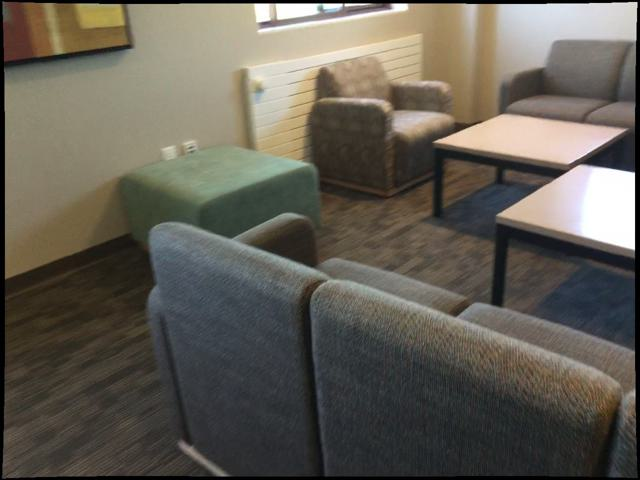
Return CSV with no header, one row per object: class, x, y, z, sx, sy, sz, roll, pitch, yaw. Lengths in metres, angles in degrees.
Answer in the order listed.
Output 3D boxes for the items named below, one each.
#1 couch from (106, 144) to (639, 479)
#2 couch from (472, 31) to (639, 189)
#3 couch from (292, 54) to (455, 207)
couch,0.439,0.421,1.330,1.978,0.822,0.779,19,35,40
couch,2.035,-0.852,3.690,1.908,0.792,0.769,19,35,40
couch,0.379,-0.792,3.940,0.749,0.772,0.769,19,35,40
